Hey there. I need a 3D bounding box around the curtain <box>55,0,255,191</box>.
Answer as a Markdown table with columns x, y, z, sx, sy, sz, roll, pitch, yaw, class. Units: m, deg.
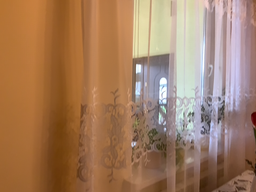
| x | y | z | sx | sy | sz | roll | pitch | yaw | class |
| --- | --- | --- | --- | --- | --- | --- | --- | --- | --- |
| 0.470 | -0.050 | 1.560 | 1.950 | 2.850 | 0.310 | -1 | 4 | -45 | curtain |
